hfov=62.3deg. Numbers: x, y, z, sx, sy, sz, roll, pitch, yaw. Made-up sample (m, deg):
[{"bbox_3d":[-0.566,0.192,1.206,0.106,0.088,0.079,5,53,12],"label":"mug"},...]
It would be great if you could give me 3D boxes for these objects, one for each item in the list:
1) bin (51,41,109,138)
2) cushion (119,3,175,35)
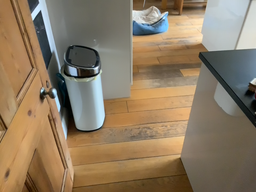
[{"bbox_3d":[-0.390,-0.050,1.870,0.360,0.710,0.430,-6,39,-8],"label":"bin"},{"bbox_3d":[0.290,-1.420,3.830,0.790,0.200,1.050,-4,39,-6],"label":"cushion"}]
